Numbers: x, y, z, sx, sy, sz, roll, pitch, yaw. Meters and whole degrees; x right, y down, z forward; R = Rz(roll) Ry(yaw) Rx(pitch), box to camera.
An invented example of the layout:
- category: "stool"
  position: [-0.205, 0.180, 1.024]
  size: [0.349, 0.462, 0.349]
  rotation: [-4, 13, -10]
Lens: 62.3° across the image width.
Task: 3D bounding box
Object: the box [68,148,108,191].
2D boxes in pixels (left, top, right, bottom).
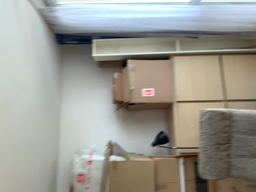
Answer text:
- category: "box"
  position: [-0.440, 0.900, 2.450]
  size: [0.420, 0.380, 0.540]
  rotation: [94, 174, -73]
